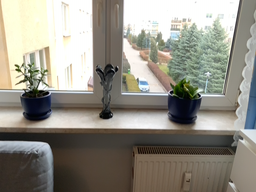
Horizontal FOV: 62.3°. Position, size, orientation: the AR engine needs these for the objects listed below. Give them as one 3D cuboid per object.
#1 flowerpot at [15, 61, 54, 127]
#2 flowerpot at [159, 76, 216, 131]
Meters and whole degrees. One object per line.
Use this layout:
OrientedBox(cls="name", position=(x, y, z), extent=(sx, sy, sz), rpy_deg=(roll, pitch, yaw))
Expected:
OrientedBox(cls="flowerpot", position=(-0.550, -0.020, 1.280), extent=(0.120, 0.340, 0.220), rpy_deg=(2, 19, -4))
OrientedBox(cls="flowerpot", position=(0.340, 0.030, 1.300), extent=(0.230, 0.220, 0.350), rpy_deg=(3, 19, -1))
